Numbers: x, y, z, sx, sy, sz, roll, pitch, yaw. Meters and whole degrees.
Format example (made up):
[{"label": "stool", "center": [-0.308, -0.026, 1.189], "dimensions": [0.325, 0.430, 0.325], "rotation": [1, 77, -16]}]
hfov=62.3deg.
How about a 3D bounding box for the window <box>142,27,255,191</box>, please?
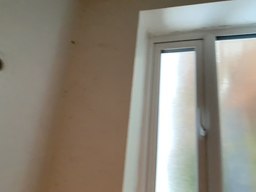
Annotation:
[{"label": "window", "center": [0.490, 0.210, 1.070], "dimensions": [0.100, 0.800, 1.230], "rotation": [54, -142, -64]}]
